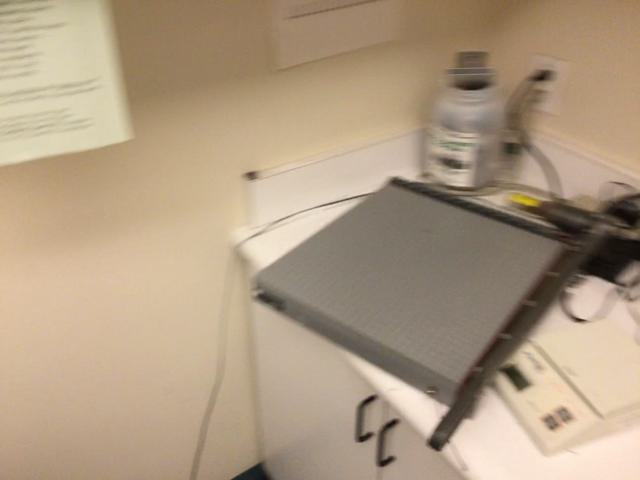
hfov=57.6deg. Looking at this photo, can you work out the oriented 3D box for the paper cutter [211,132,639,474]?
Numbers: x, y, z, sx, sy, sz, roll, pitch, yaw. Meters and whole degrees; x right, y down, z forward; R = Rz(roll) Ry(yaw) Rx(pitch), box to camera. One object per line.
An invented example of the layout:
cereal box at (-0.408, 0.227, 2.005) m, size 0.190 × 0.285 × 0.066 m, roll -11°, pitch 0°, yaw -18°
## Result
paper cutter at (0.190, 0.030, 0.980) m, size 0.450 × 0.130 × 0.570 m, roll 30°, pitch 44°, yaw 34°
